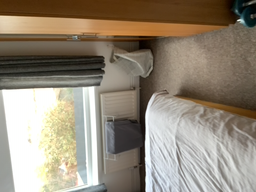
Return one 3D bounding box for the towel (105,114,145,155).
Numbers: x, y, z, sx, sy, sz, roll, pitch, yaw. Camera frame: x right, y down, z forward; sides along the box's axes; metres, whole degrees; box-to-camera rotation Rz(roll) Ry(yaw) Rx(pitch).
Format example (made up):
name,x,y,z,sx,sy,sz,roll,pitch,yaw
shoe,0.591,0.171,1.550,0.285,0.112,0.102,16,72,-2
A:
name,x,y,z,sx,sy,sz,roll,pitch,yaw
towel,-0.030,0.520,2.940,0.130,0.540,0.470,15,108,62
